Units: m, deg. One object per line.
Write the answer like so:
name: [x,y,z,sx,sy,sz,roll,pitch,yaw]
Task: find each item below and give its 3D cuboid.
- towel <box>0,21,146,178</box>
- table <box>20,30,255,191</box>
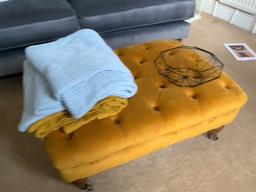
towel: [-0.240,-0.050,0.820,0.400,0.240,0.530,-17,42,-19]
table: [0.010,0.050,1.020,0.840,0.360,0.670,-17,42,-18]
